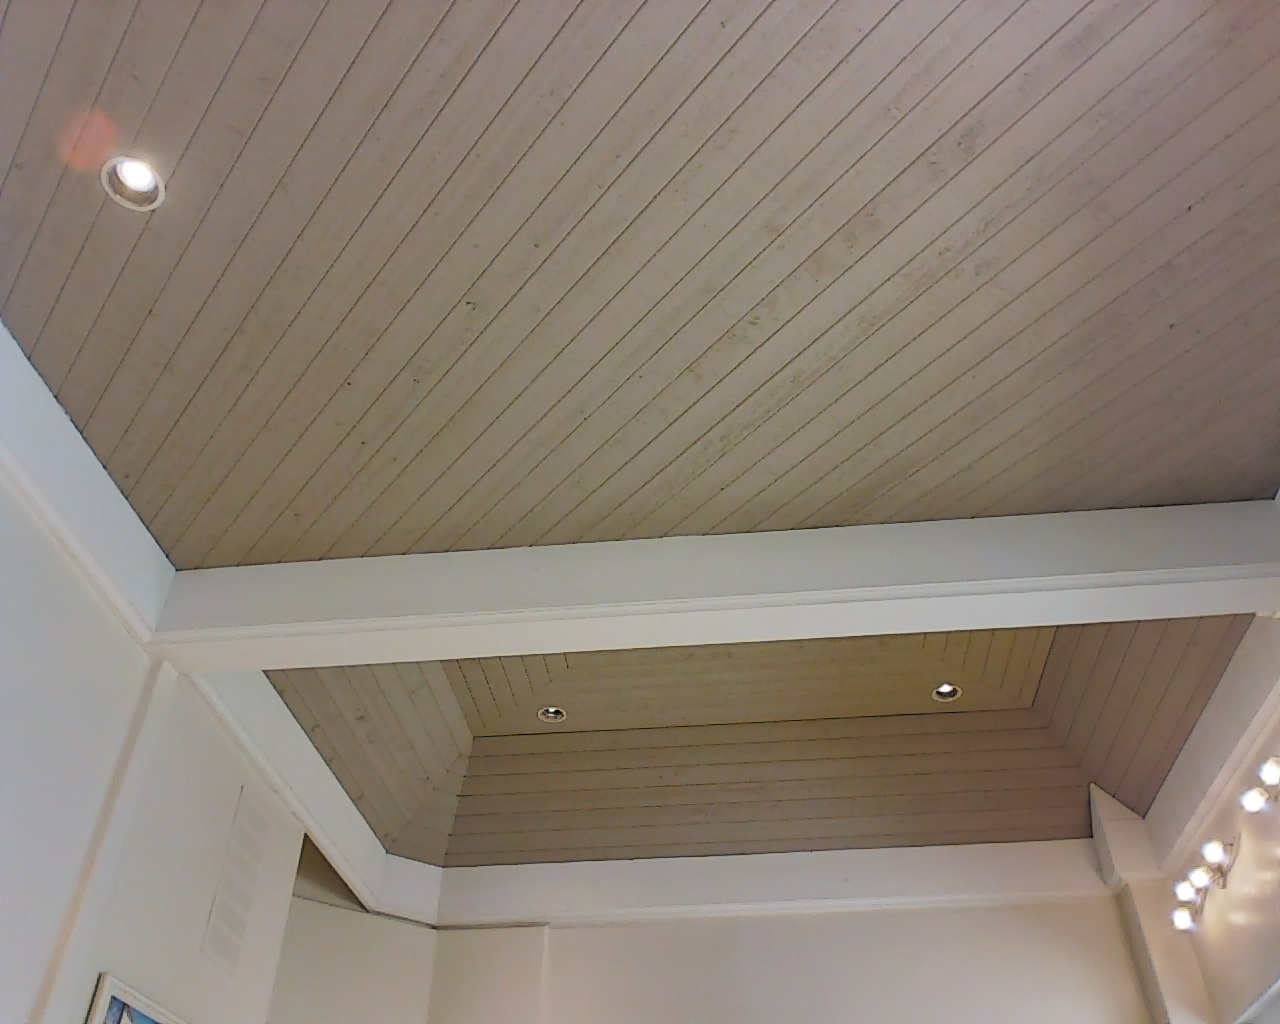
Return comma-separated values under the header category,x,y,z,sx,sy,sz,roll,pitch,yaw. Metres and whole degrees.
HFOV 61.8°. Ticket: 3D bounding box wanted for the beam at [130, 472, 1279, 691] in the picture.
category,x,y,z,sx,sy,sz,roll,pitch,yaw
beam,0.270,0.310,4.450,4.640,0.410,0.450,-4,-41,4
